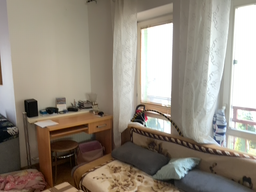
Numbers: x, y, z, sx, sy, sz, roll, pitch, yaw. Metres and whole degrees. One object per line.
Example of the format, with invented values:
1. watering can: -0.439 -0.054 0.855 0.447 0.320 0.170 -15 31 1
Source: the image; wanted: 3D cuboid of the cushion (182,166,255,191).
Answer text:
1. cushion: 0.760 0.780 1.730 0.540 0.150 0.290 7 11 43
